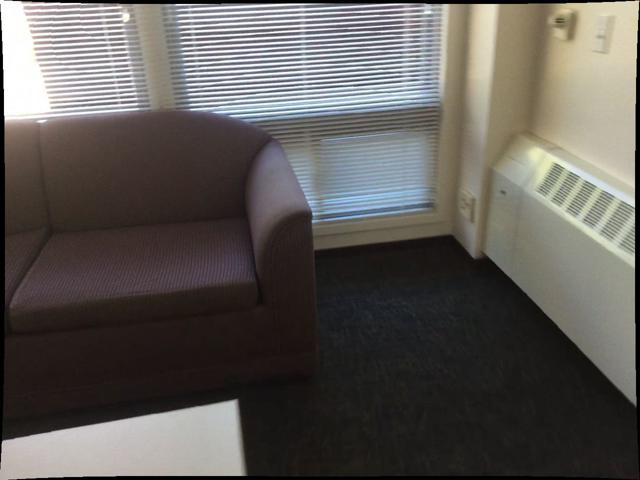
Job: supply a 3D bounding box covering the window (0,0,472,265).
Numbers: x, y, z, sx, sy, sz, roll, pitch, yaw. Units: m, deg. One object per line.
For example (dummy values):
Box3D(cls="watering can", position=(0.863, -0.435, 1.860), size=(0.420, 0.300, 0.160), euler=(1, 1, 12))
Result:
Box3D(cls="window", position=(-0.599, -0.942, 2.140), size=(2.386, 1.993, 0.280), euler=(-7, 27, -10))
